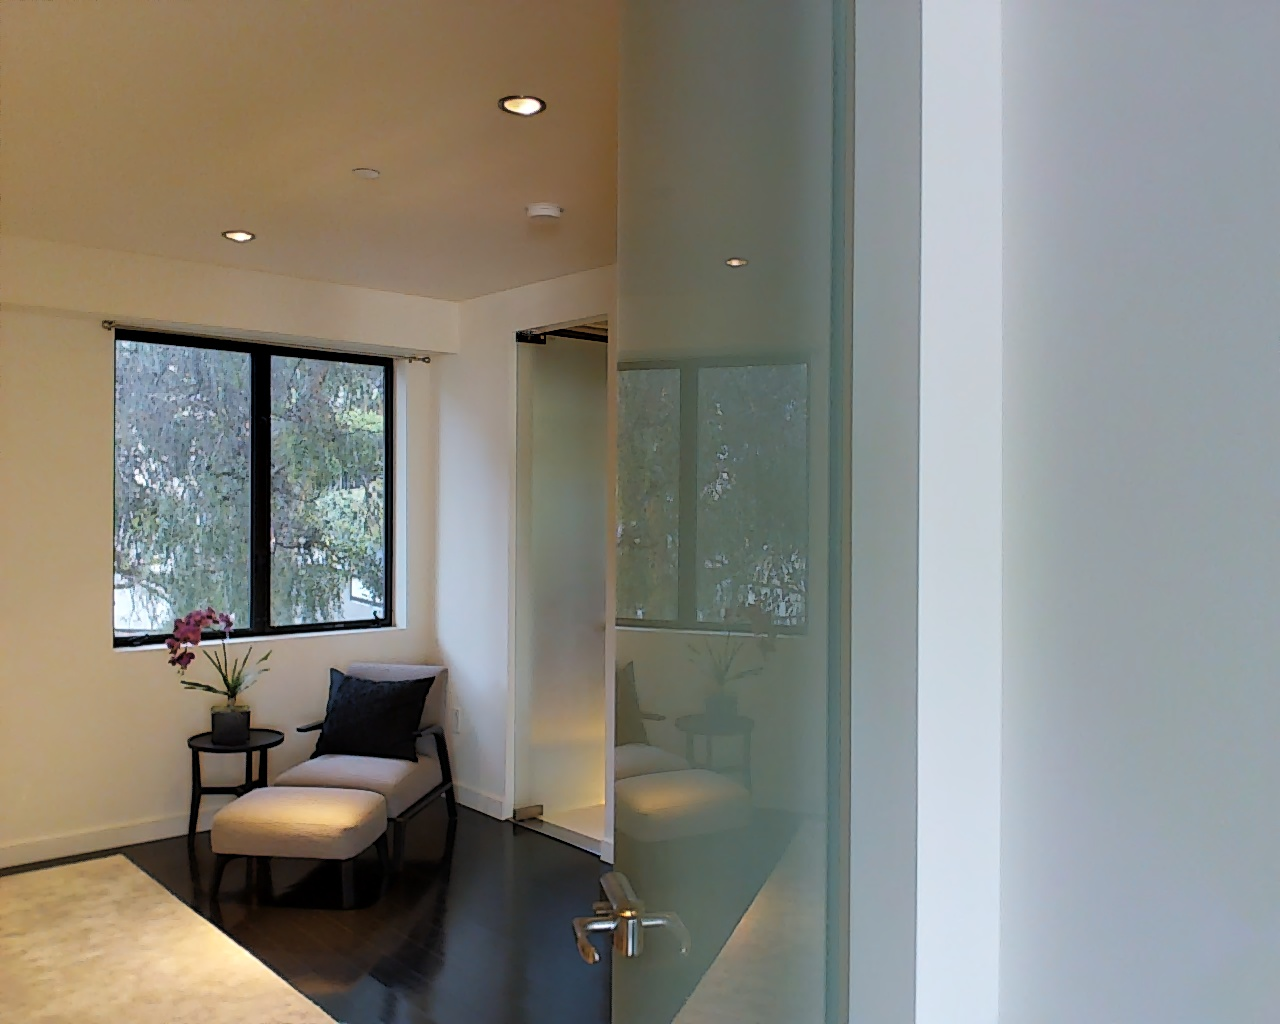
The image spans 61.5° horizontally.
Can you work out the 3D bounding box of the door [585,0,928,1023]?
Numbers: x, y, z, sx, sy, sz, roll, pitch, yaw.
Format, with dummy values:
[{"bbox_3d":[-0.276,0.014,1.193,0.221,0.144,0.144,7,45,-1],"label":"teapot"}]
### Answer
[{"bbox_3d":[0.070,0.370,1.310,0.100,2.420,0.930,0,0,-13],"label":"door"}]
